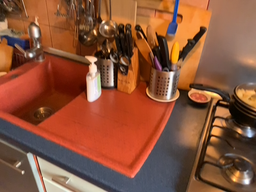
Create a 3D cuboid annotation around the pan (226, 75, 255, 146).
[{"bbox_3d":[0.470,0.050,0.770,0.160,0.130,0.250,17,36,19],"label":"pan"}]
